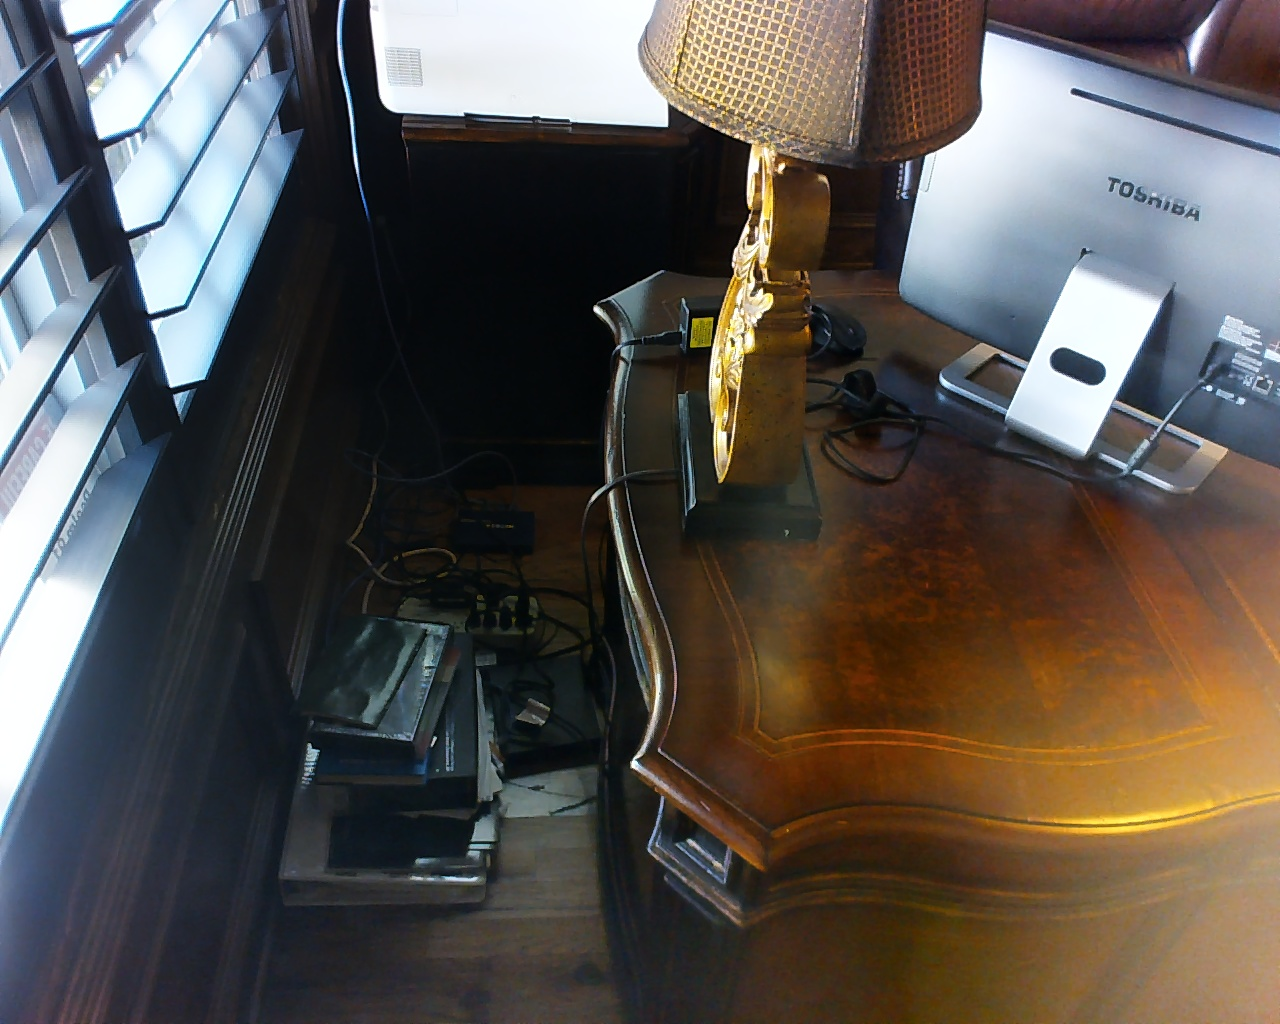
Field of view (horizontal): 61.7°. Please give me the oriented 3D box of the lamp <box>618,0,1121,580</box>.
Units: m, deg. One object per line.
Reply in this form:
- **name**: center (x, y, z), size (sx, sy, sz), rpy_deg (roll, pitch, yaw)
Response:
- **lamp**: center (0.150, -0.350, 0.930), size (0.290, 0.760, 0.380), rpy_deg (-2, 41, -5)

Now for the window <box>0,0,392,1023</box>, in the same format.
- **window**: center (-0.510, -0.470, 0.930), size (0.140, 2.420, 1.850), rpy_deg (-1, 41, -5)
